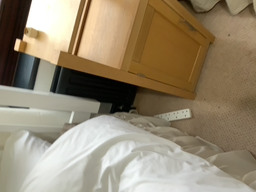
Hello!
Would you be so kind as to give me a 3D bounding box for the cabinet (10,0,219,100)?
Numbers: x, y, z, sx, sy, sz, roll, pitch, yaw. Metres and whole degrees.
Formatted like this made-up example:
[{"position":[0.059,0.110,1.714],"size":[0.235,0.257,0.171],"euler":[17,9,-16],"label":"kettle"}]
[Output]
[{"position":[0.030,-0.250,0.930],"size":[0.340,0.840,0.370],"euler":[22,98,41],"label":"cabinet"}]
